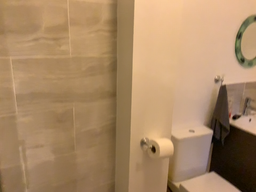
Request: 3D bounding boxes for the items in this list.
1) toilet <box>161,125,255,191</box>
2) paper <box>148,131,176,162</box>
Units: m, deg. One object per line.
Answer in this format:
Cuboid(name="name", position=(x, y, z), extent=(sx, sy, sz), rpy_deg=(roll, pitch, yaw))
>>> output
Cuboid(name="toilet", position=(0.600, 0.710, 1.620), extent=(0.390, 0.760, 0.590), rpy_deg=(-6, 17, -27))
Cuboid(name="paper", position=(0.210, 0.310, 1.310), extent=(0.120, 0.130, 0.110), rpy_deg=(-6, 17, -27))
